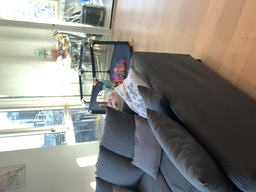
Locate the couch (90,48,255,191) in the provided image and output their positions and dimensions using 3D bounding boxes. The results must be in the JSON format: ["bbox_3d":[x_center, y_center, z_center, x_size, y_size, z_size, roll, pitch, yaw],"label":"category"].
[{"bbox_3d":[0.190,0.800,2.000,0.800,0.900,2.230,-1,122,-22],"label":"couch"}]

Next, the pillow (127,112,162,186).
[{"bbox_3d":[0.140,0.440,1.780,0.120,0.270,0.540,18,116,17],"label":"pillow"}]
